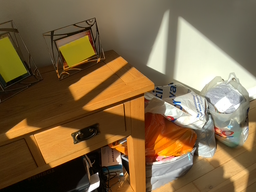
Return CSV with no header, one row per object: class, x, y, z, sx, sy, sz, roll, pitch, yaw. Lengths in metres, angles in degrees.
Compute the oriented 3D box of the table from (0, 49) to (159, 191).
table,-0.330,0.300,0.930,0.840,0.760,0.350,-18,38,-20
